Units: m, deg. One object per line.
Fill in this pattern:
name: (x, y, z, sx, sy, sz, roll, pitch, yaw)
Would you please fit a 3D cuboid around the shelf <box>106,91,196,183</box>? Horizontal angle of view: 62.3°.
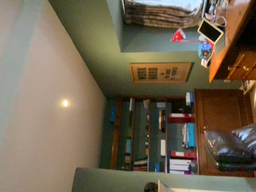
shelf: (0.390, 0.650, 3.600, 0.330, 1.330, 1.440, 73, -160, -65)
